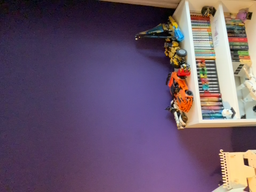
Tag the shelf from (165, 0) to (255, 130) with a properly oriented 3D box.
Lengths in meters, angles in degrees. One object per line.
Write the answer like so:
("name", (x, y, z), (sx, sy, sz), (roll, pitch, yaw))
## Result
("shelf", (0.850, -0.240, 1.490), (0.300, 1.040, 0.890), (130, 138, -73))
